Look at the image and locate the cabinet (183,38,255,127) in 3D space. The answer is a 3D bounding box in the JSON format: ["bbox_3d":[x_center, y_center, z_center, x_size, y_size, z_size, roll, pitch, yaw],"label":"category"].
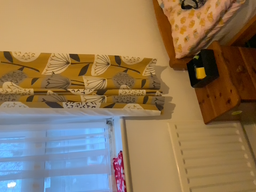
[{"bbox_3d":[0.730,-0.070,1.390,0.370,0.520,0.430,119,148,-60],"label":"cabinet"}]
